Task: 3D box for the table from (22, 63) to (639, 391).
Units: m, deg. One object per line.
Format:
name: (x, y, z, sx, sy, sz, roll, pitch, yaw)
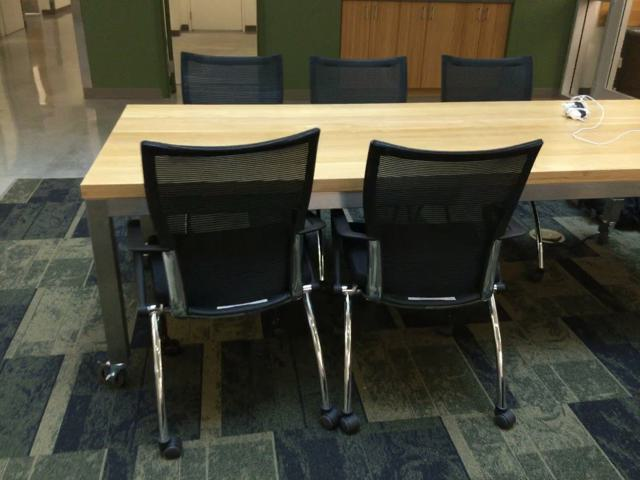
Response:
table: (0.410, -0.170, 2.350, 2.520, 0.860, 1.160, -2, 26, -4)
